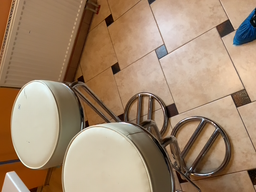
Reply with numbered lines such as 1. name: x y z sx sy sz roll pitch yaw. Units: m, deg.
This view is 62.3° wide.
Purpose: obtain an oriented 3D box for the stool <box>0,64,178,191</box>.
1. stool: -0.120 0.120 1.140 0.360 0.850 0.340 29 104 33

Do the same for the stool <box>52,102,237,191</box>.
1. stool: 0.170 0.260 0.930 0.340 0.850 0.340 26 102 33
